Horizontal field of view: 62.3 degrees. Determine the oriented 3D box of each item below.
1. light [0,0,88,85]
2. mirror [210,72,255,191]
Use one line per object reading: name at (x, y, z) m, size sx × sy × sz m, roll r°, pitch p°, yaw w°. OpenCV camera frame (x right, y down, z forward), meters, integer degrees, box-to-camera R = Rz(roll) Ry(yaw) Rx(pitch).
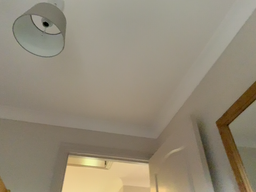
light at (-0.440, -0.350, 1.160) m, size 0.340 × 0.440 × 0.290 m, roll 11°, pitch -41°, yaw -9°
mirror at (0.630, 0.180, 0.940) m, size 0.080 × 0.570 × 0.580 m, roll 10°, pitch -41°, yaw -11°
